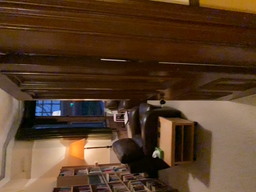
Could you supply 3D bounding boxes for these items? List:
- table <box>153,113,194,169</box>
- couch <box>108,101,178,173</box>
[{"bbox_3d":[0.650,0.630,3.120,0.490,0.390,0.680,-166,77,-75],"label":"table"},{"bbox_3d":[0.200,0.630,3.810,1.090,0.930,1.040,-178,89,-76],"label":"couch"}]
